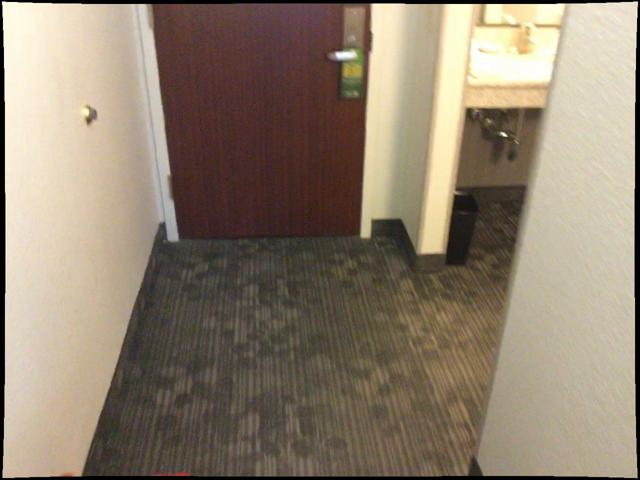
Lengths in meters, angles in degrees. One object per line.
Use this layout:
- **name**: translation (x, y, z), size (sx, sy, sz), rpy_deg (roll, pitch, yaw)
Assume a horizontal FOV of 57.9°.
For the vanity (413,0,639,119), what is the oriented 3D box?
- **vanity**: translation (0.999, -0.871, 2.610), size (0.949, 0.420, 0.680), rpy_deg (-2, 32, -8)
